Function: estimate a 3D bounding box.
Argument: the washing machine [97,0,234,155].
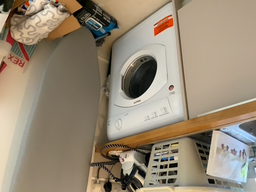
[{"bbox_3d":[0.240,-0.090,1.530,0.600,0.830,0.620,24,145,-37],"label":"washing machine"}]
